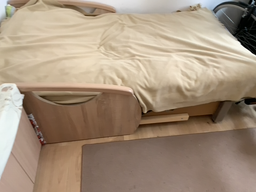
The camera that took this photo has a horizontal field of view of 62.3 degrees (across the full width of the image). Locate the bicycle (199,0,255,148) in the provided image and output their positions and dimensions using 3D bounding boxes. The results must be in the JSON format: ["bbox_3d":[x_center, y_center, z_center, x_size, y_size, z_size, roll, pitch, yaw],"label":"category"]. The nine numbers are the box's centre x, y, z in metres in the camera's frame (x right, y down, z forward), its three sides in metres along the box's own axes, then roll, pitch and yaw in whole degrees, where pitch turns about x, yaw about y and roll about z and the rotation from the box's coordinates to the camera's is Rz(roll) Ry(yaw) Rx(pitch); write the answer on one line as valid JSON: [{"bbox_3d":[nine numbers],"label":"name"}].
[{"bbox_3d":[1.120,-0.240,1.690,0.390,0.730,1.660,-2,47,-5],"label":"bicycle"}]
